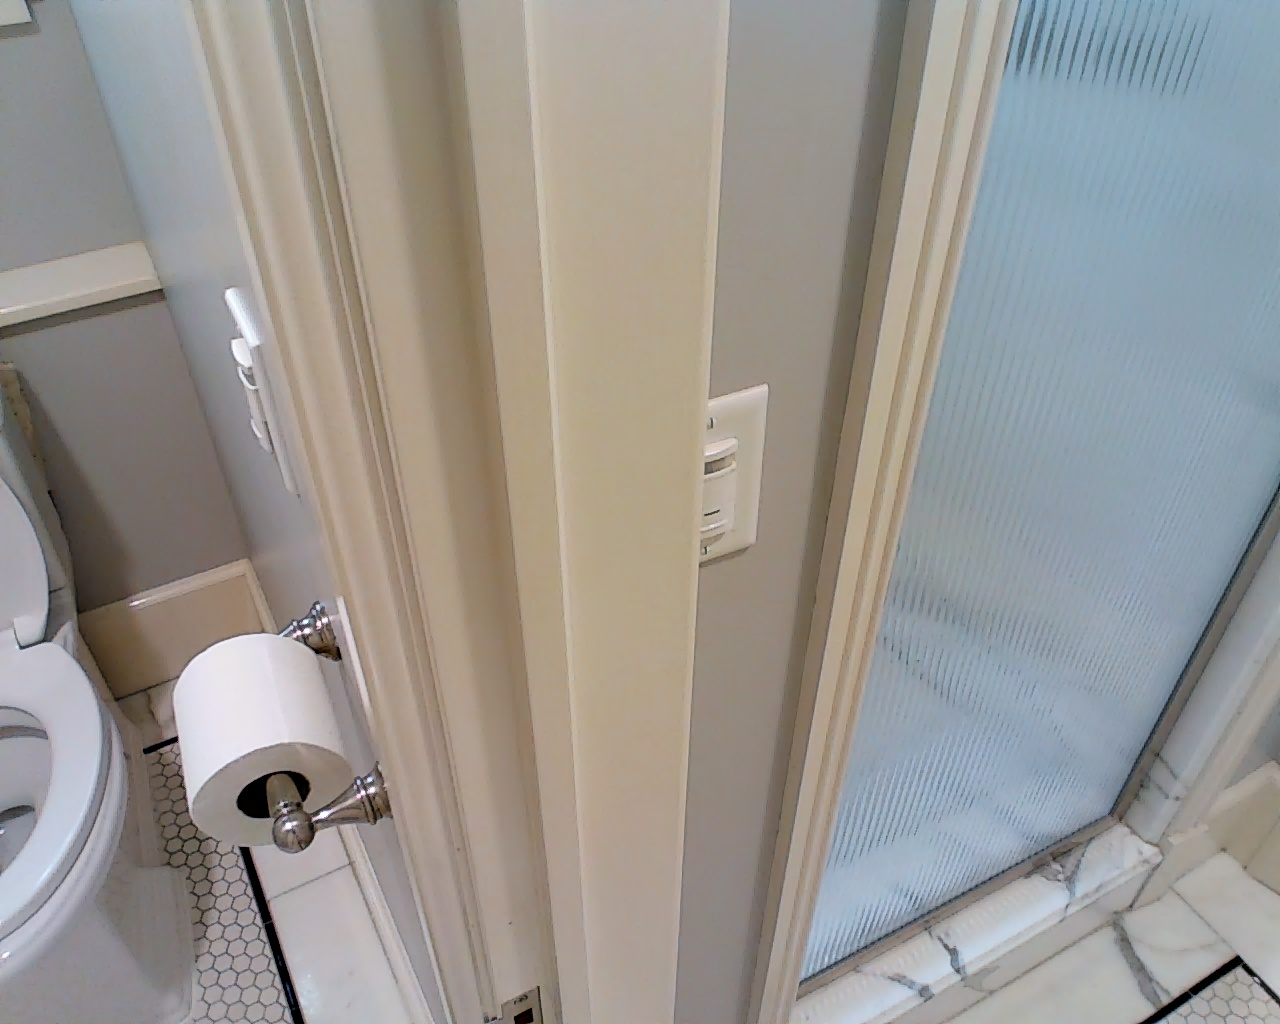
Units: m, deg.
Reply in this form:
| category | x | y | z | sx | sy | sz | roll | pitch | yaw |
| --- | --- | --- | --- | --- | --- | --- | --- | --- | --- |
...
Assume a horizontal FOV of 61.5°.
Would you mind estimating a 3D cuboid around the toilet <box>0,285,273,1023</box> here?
| category | x | y | z | sx | sy | sz | roll | pitch | yaw |
| --- | --- | --- | --- | --- | --- | --- | --- | --- | --- |
| toilet | -0.890 | 0.250 | 1.400 | 0.430 | 0.910 | 0.760 | -20 | 45 | -20 |
